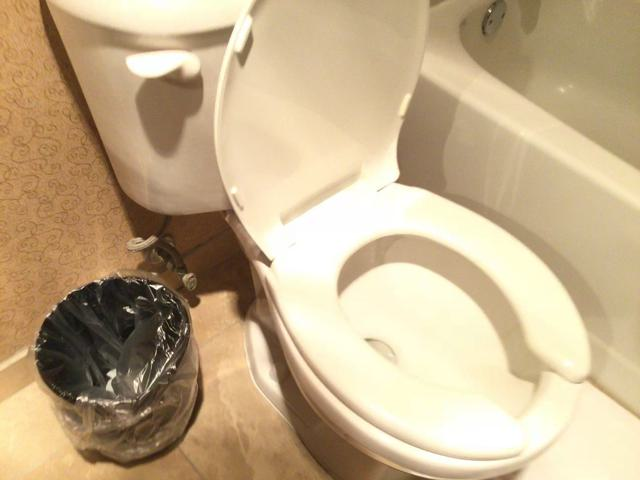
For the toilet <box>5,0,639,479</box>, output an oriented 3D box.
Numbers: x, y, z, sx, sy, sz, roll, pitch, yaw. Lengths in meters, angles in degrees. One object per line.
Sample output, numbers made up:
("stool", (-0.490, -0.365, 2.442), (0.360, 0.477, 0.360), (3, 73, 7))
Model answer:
("toilet", (0.060, 0.000, 0.790), (0.490, 0.770, 0.680), (-34, 61, -29))
